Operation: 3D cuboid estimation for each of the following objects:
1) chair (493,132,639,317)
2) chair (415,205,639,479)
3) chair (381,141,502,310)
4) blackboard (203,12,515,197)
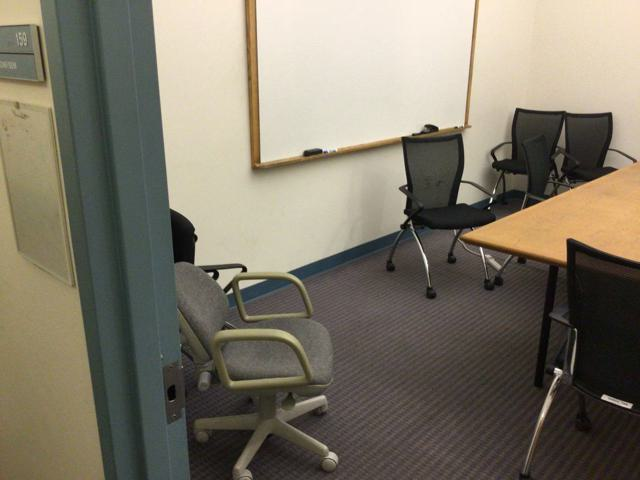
[{"bbox_3d":[1.520,-0.140,3.560,0.560,0.940,0.670,-18,20,-36],"label":"chair"},{"bbox_3d":[0.790,0.430,1.940,0.630,0.910,0.630,-18,20,-35],"label":"chair"},{"bbox_3d":[0.770,-0.120,3.750,0.560,0.910,0.600,-8,16,-6],"label":"chair"},{"bbox_3d":[0.450,-1.010,3.960,2.430,0.920,0.380,-18,20,-35],"label":"blackboard"}]
